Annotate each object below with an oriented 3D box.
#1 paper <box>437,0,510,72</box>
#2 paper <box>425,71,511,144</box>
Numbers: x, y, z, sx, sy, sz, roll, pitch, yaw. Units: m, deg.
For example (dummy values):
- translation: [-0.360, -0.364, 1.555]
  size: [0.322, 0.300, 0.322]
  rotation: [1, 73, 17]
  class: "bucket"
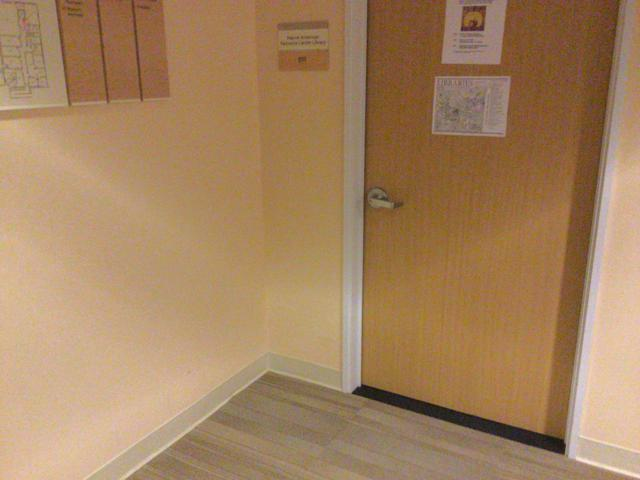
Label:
- translation: [0.530, -0.750, 2.000]
  size: [0.230, 0.300, 0.060]
  rotation: [2, 18, 29]
  class: "paper"
- translation: [0.530, -0.470, 2.070]
  size: [0.280, 0.230, 0.070]
  rotation: [2, 18, 29]
  class: "paper"
